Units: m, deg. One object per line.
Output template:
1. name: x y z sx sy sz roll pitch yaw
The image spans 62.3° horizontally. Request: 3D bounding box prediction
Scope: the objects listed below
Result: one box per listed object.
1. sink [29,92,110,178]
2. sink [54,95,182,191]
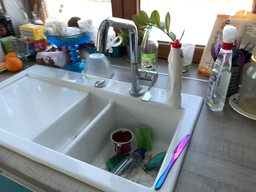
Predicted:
1. sink: -0.200 0.130 0.820 0.110 0.130 0.320 13 36 21
2. sink: -0.010 0.190 0.760 0.310 0.190 0.330 13 36 21
